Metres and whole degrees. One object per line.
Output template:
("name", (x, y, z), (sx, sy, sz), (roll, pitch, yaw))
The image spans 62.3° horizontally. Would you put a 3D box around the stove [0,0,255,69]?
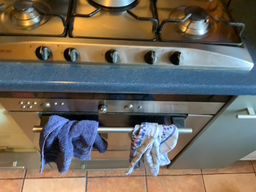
("stove", (-0.050, -0.300, 0.590), (0.720, 0.040, 0.520), (1, 57, -5))
